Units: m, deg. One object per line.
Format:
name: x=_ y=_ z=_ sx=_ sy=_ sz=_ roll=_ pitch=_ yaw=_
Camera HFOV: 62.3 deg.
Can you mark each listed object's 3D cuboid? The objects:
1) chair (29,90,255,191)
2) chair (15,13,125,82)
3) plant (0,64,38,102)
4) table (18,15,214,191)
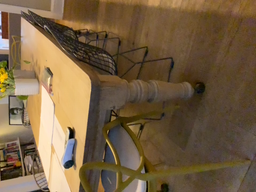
chair: x=0.040 y=0.360 z=1.070 sx=0.570 sy=0.900 sz=0.580 roll=40 pitch=125 yaw=49
chair: x=-0.540 y=-0.430 z=1.960 sx=0.440 sy=0.860 sz=0.470 roll=37 pitch=123 yaw=50
plant: x=-1.000 y=-0.130 z=1.870 sx=0.460 sy=0.300 sz=0.190 roll=34 pitch=120 yaw=52
table: x=-0.530 y=-0.100 z=2.070 sx=2.390 sy=0.740 sz=0.980 roll=37 pitch=123 yaw=50
